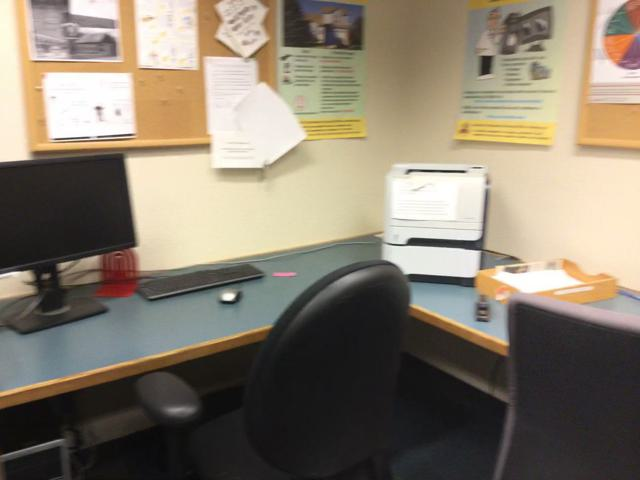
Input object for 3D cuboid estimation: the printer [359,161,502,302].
[{"bbox_3d":[0.410,-0.060,2.140,0.430,0.410,0.470,6,12,13],"label":"printer"}]
